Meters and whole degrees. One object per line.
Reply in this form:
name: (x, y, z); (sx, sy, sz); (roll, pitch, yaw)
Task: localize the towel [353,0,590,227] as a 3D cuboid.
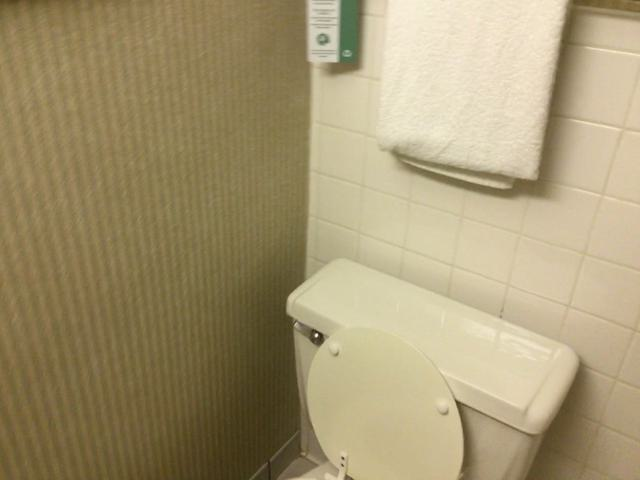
towel: (0.220, -0.240, 0.900); (0.290, 0.350, 0.130); (20, 33, 29)
